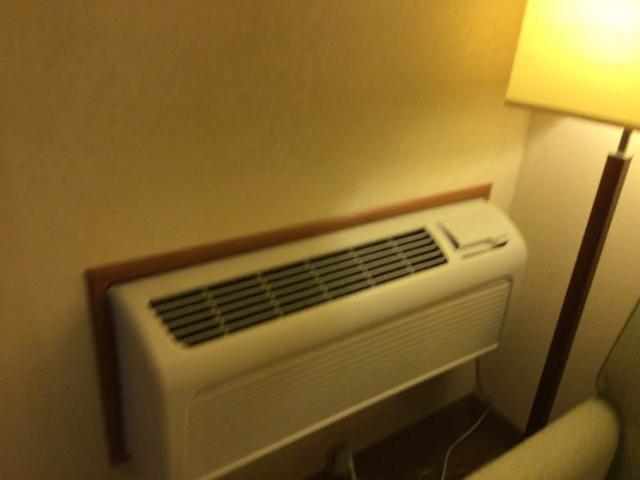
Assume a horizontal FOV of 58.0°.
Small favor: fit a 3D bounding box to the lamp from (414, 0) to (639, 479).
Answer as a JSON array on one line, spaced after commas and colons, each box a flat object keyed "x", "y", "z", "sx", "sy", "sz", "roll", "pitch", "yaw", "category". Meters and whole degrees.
[{"x": 0.610, "y": 0.130, "z": 1.370, "sx": 0.410, "sy": 1.480, "sz": 0.420, "roll": -13, "pitch": 30, "yaw": -33, "category": "lamp"}]

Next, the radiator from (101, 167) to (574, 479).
[{"x": 0.120, "y": 0.180, "z": 1.370, "sx": 1.150, "sy": 0.540, "sz": 0.190, "roll": -13, "pitch": 30, "yaw": -33, "category": "radiator"}]
